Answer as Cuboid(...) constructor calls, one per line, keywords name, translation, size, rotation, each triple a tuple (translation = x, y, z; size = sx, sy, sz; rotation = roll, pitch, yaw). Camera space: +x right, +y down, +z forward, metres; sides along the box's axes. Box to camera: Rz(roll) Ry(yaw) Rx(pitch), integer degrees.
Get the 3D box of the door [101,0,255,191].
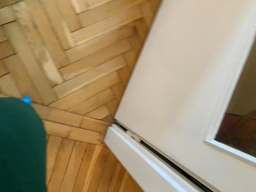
Cuboid(name="door", translation=(0.440, -0.120, 0.260), size=(0.100, 2.030, 0.930), rotation=(23, 88, -22))
